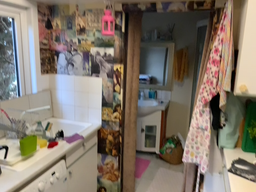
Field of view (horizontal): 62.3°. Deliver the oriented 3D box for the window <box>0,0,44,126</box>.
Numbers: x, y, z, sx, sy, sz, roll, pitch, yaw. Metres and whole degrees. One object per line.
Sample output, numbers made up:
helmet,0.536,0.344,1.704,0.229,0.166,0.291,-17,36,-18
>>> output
window,-1.150,-0.240,1.500,0.160,1.030,1.320,6,13,19
